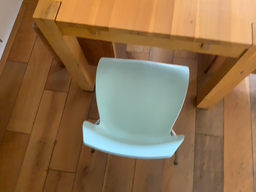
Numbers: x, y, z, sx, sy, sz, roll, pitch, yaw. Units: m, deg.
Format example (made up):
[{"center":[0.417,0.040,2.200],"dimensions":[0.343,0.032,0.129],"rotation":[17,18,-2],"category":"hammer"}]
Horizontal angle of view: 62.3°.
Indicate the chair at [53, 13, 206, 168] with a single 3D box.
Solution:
[{"center":[0.040,0.060,1.080],"dimensions":[0.460,0.720,0.510],"rotation":[8,72,5],"category":"chair"}]
